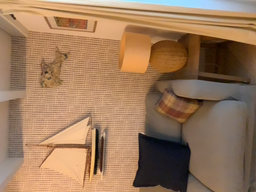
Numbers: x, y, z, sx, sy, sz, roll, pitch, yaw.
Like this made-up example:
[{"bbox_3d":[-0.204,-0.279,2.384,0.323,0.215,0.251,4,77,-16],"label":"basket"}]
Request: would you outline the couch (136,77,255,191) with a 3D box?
[{"bbox_3d":[0.620,0.800,2.200,1.070,0.770,1.890,-169,82,-78],"label":"couch"}]
